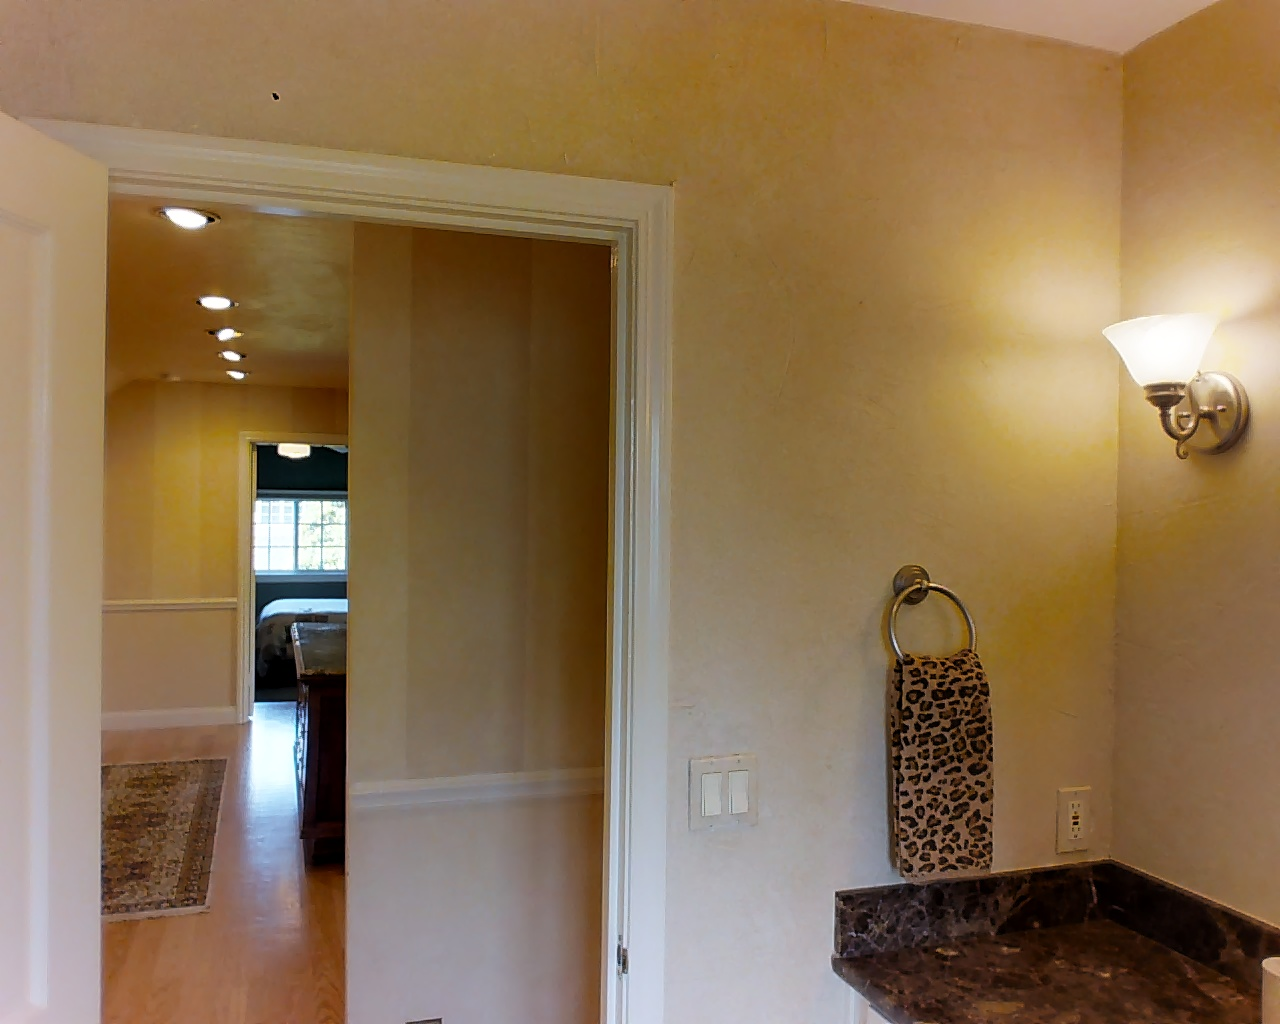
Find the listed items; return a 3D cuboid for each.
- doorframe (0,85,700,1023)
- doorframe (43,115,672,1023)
[{"bbox_3d":[-0.390,0.520,1.590,0.940,2.110,0.170,0,0,-18],"label":"doorframe"},{"bbox_3d":[-0.390,0.540,1.590,0.840,2.080,0.190,0,0,-18],"label":"doorframe"}]
